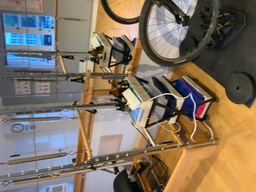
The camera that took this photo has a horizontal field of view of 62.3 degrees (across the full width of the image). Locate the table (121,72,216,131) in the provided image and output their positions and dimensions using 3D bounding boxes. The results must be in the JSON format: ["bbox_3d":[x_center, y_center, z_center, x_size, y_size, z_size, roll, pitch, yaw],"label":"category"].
[{"bbox_3d":[0.360,0.020,1.990,0.460,0.690,0.290,-122,36,-46],"label":"table"}]
